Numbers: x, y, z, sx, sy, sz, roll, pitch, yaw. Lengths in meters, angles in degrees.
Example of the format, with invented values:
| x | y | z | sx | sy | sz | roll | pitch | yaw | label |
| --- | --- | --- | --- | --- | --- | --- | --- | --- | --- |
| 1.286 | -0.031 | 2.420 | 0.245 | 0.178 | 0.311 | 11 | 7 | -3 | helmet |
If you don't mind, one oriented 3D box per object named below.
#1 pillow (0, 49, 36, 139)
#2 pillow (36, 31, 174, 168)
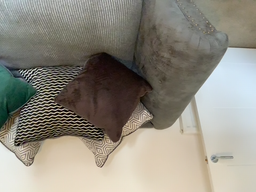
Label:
| x | y | z | sx | sy | sz | roll | pitch | yaw | label |
| --- | --- | --- | --- | --- | --- | --- | --- | --- | --- |
| -0.860 | 0.000 | 1.190 | 0.520 | 0.440 | 0.250 | -2 | 155 | -1 | pillow |
| -0.110 | 0.010 | 1.270 | 0.510 | 0.570 | 0.330 | 28 | 149 | 8 | pillow |
